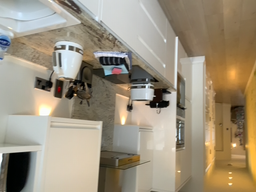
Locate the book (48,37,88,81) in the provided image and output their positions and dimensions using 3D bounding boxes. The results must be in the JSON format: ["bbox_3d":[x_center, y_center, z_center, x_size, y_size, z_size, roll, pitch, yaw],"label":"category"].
[{"bbox_3d":[-0.380,-0.230,1.370,0.130,0.220,0.200,-1,171,24],"label":"book"}]

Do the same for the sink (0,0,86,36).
[{"bbox_3d":[-0.500,-0.480,1.010,0.450,0.190,0.370,-1,171,25],"label":"sink"}]

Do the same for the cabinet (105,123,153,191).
[{"bbox_3d":[0.040,0.750,2.540,0.320,0.800,0.580,-1,171,25],"label":"cabinet"}]
